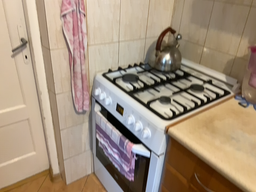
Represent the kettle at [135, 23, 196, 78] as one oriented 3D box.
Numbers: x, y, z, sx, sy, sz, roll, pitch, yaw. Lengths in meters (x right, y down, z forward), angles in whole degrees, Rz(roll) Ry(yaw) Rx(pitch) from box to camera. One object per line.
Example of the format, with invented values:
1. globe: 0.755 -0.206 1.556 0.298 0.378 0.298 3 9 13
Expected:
1. kettle: 0.230 -0.300 1.340 0.280 0.250 0.220 -20 37 -36
